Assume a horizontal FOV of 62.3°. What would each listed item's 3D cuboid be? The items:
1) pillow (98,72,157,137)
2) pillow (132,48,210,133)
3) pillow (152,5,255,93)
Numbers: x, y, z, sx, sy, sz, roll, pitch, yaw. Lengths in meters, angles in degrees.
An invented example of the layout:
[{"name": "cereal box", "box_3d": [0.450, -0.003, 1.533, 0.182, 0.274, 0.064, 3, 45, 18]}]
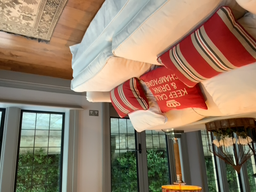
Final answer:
[{"name": "pillow", "box_3d": [-0.040, 0.060, 1.980, 0.190, 0.340, 0.630, 9, -159, -32]}, {"name": "pillow", "box_3d": [0.290, -0.050, 1.630, 0.180, 0.470, 0.460, 9, -153, -33]}, {"name": "pillow", "box_3d": [0.420, -0.200, 1.150, 0.340, 0.210, 0.500, 7, 162, -29]}]
